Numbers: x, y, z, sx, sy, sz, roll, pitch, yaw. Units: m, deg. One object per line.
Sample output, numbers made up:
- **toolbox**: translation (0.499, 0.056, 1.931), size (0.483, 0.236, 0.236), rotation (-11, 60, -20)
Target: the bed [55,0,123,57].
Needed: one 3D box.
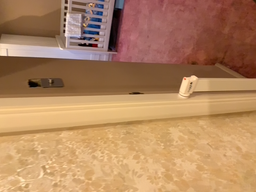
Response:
- **bed**: translation (-0.660, -1.550, 3.480), size (0.780, 0.910, 1.590), rotation (-128, 43, -51)
